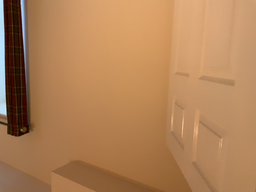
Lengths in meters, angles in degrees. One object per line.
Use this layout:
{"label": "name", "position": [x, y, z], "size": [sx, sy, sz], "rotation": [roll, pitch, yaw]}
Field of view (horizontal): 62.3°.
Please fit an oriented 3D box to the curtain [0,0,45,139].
{"label": "curtain", "position": [-0.960, -0.760, 1.870], "size": [0.320, 2.250, 0.220], "rotation": [7, -170, 31]}
